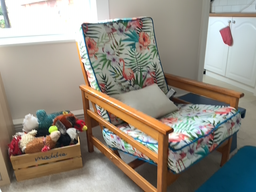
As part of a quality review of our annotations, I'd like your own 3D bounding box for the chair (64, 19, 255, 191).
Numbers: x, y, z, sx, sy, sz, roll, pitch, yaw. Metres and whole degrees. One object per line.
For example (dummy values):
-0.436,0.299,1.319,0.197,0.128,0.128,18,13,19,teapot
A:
0.120,0.000,1.340,0.620,0.880,0.900,-17,26,-33,chair
